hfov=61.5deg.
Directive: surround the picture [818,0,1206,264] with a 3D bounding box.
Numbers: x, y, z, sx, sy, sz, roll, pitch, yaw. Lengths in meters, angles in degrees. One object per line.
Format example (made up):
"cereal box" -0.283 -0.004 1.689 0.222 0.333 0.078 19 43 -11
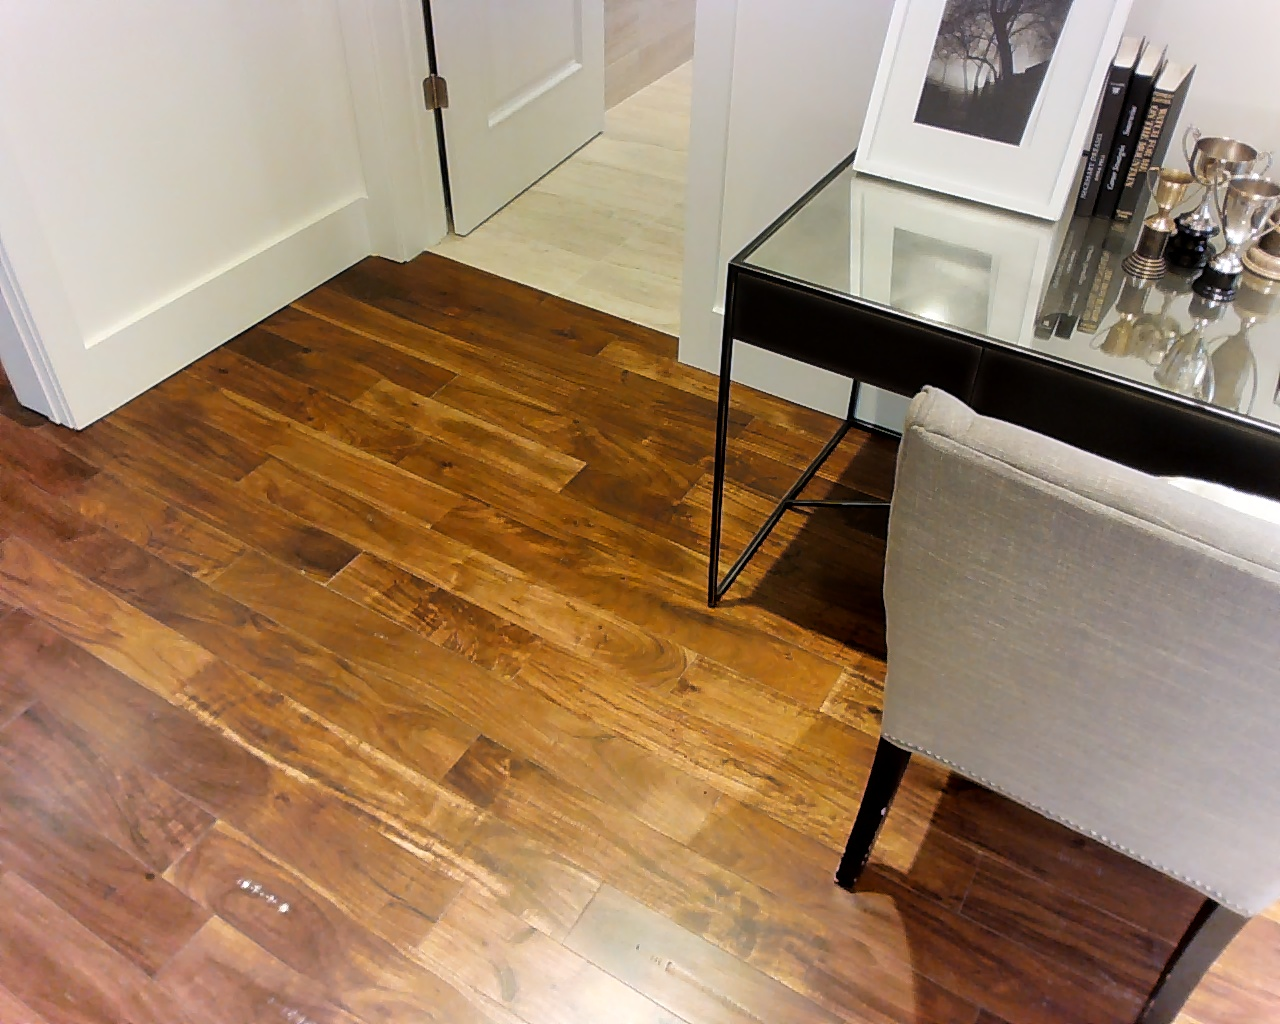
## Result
"picture" 0.580 -0.720 1.750 0.400 0.500 0.080 36 50 7
